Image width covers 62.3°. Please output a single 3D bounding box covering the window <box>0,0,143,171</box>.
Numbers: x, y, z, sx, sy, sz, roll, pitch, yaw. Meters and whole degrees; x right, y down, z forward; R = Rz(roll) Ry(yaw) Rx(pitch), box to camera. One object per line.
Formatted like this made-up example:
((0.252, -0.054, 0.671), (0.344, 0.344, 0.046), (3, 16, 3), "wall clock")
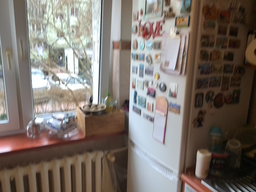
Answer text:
((-0.670, -0.370, 1.370), (1.600, 1.620, 0.300), (-5, 15, -29), "window")
